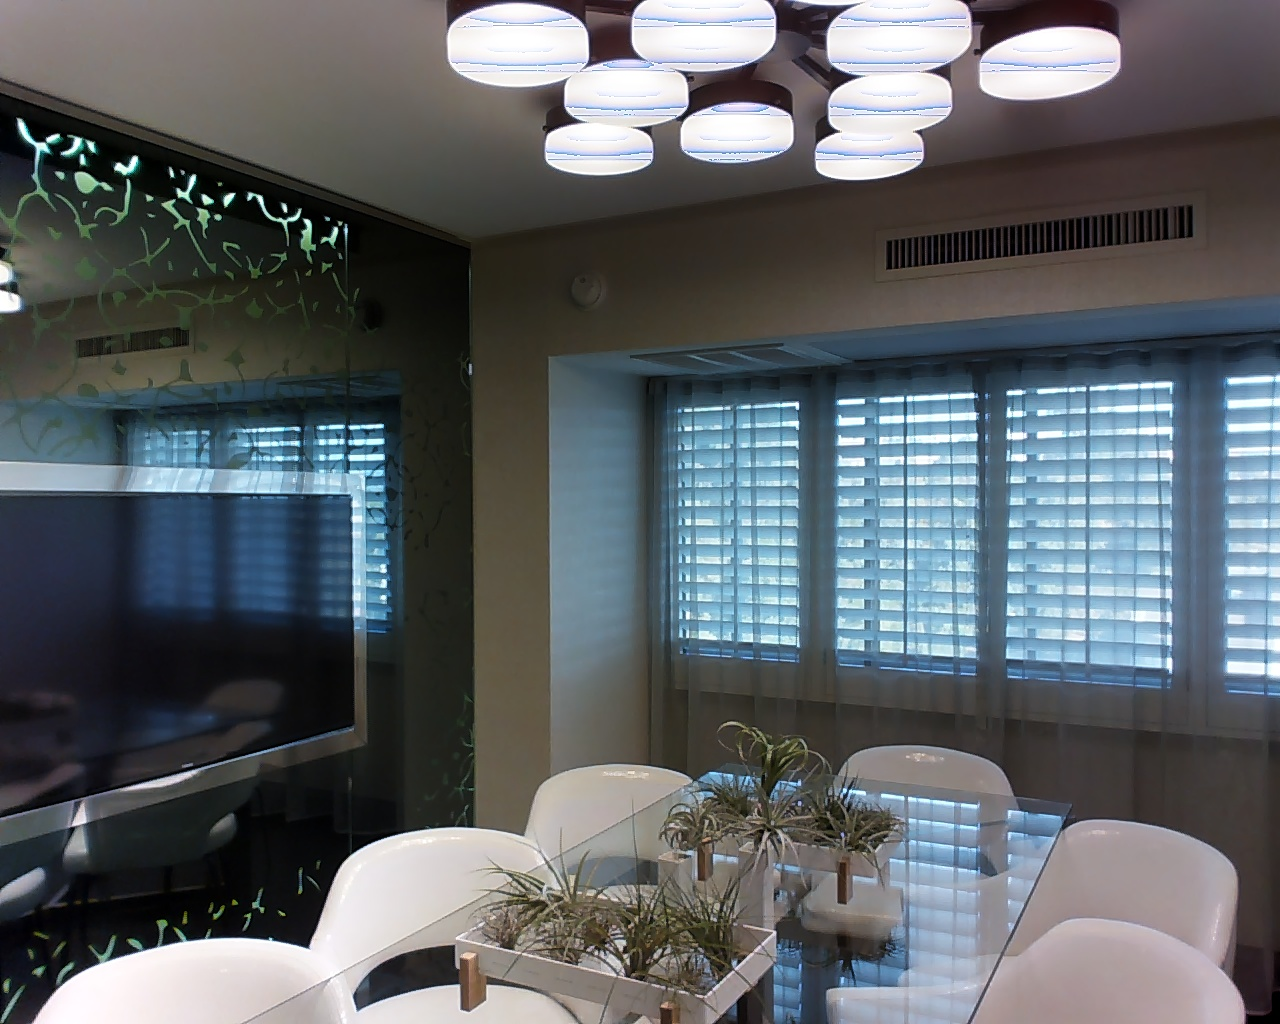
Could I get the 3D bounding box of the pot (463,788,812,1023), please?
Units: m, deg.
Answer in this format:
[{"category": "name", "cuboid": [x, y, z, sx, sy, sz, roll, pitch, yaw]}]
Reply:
[{"category": "pot", "cuboid": [0.000, 0.780, 1.820, 0.490, 0.490, 0.330, 0, 1, 29]}]
